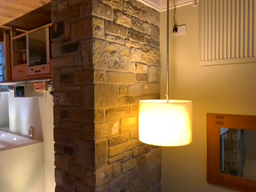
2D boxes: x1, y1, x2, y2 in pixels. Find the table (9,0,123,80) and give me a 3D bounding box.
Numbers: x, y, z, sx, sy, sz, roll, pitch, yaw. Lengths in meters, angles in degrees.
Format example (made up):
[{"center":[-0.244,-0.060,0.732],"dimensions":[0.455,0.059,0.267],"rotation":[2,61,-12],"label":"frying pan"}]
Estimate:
[{"center":[-0.950,-0.680,3.070],"dimensions":[1.640,0.820,0.720],"rotation":[1,-177,37],"label":"table"}]
